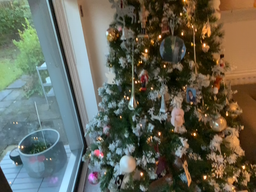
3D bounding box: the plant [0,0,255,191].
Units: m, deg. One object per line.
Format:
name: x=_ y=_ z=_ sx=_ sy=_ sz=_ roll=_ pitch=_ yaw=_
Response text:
plant: x=0.140 y=-0.230 z=1.300 sx=1.190 sy=1.990 sz=1.280 roll=-5 pitch=26 yaw=1
